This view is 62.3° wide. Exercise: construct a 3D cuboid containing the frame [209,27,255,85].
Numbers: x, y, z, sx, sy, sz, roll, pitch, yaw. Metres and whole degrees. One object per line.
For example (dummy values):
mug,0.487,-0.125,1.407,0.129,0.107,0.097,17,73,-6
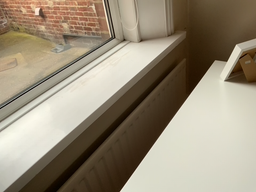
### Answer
frame,0.450,-0.170,0.900,0.130,0.180,0.130,-19,36,-12
